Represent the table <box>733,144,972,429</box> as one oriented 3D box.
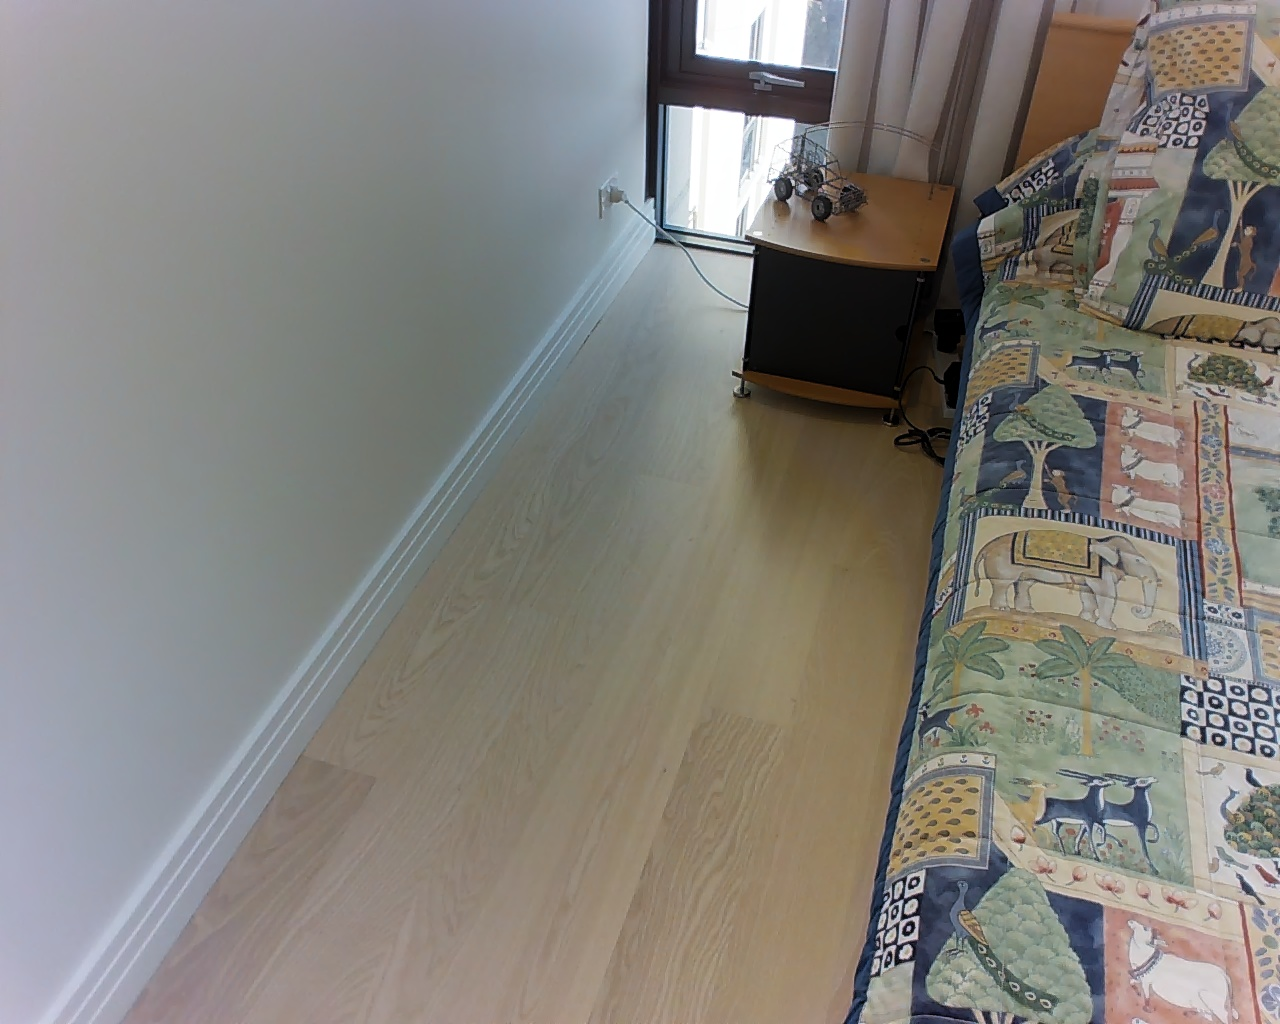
[{"bbox_3d":[0.470,-0.510,2.390,0.390,0.380,0.470,14,43,13],"label":"table"}]
